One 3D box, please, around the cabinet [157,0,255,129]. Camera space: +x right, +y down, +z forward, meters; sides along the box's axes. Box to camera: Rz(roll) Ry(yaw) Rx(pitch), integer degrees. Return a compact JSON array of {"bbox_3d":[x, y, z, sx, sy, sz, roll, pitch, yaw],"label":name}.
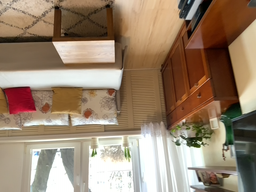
[{"bbox_3d":[0.790,-0.220,2.510,0.500,1.010,1.590,-2,164,-4],"label":"cabinet"}]
